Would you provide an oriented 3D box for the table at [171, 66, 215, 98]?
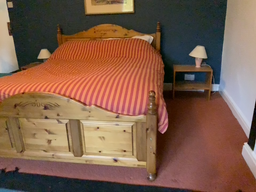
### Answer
[{"bbox_3d":[0.950,-0.220,3.180,0.570,0.380,0.360,2,19,9],"label":"table"}]
